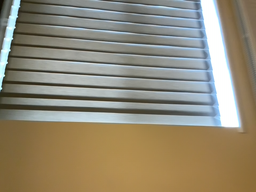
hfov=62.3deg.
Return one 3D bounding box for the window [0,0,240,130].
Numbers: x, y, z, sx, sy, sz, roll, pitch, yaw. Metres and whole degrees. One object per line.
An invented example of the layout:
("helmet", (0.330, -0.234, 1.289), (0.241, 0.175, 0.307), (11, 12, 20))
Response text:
("window", (-0.030, -0.350, 1.290), (0.070, 1.260, 1.080), (112, 160, -66))
